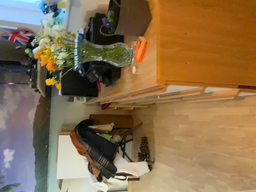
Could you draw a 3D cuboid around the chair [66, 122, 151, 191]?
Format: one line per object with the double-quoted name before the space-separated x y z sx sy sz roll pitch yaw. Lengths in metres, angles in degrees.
"chair" -0.290 0.740 2.640 0.590 0.870 0.590 112 152 -43
